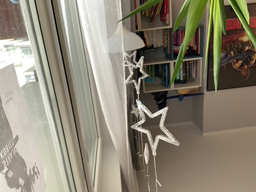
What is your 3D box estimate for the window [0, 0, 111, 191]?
[{"bbox_3d":[-0.320,-0.310,0.290,0.220,2.920,2.710,-6,-160,-1],"label":"window"}]
